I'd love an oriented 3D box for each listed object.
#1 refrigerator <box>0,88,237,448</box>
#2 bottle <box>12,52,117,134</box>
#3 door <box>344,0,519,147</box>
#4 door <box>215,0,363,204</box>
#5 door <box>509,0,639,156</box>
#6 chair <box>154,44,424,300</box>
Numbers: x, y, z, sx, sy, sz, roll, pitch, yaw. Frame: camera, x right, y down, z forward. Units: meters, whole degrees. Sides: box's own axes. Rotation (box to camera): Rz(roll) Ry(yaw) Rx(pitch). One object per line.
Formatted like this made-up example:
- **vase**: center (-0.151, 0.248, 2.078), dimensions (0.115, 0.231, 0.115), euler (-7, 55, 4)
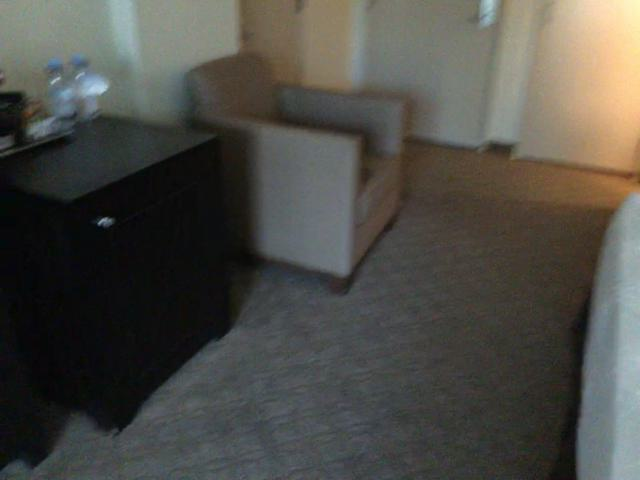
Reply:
- **refrigerator**: center (-0.740, 0.030, 1.870), dimensions (0.650, 0.830, 0.670), euler (13, 29, 20)
- **bottle**: center (-0.820, -0.480, 1.870), dimensions (0.220, 0.200, 0.180), euler (13, 29, 20)
- **door**: center (0.770, -1.730, 3.880), dimensions (1.100, 2.050, 0.250), euler (13, 29, 20)
- **door**: center (-0.090, -1.500, 3.440), dimensions (0.140, 2.090, 1.740), euler (13, 29, 20)
- **door**: center (1.750, -1.490, 3.360), dimensions (0.900, 1.900, 0.310), euler (13, 29, 20)
- **chair**: center (-0.100, -0.380, 2.660), dimensions (0.880, 0.820, 0.820), euler (13, 29, 20)
